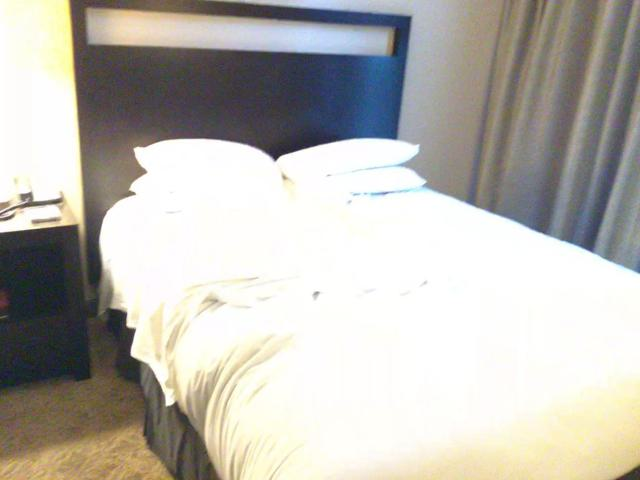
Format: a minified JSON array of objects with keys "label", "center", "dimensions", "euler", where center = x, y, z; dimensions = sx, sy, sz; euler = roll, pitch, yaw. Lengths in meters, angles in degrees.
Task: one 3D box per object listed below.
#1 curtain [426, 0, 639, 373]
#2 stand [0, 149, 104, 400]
[{"label":"curtain","center":[1.590,-0.210,2.410],"dimensions":[0.490,1.560,2.880],"euler":[-9,21,-27]},{"label":"stand","center":[-1.350,0.130,2.210],"dimensions":[0.830,0.810,0.570],"euler":[-9,21,-27]}]
